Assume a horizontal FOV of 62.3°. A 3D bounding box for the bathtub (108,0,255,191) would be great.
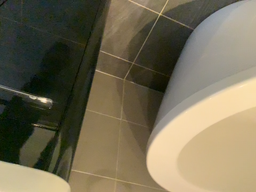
[{"bbox_3d":[0.780,0.100,0.970,1.500,0.620,0.790,18,134,-15],"label":"bathtub"}]
